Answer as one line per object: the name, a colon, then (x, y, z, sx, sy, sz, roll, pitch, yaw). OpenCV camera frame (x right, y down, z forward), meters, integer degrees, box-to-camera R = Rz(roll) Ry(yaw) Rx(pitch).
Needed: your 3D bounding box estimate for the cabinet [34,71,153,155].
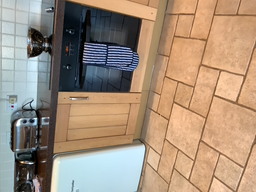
cabinet: (-0.340, 0.110, 1.980, 0.570, 0.900, 0.510, 33, 117, 54)
